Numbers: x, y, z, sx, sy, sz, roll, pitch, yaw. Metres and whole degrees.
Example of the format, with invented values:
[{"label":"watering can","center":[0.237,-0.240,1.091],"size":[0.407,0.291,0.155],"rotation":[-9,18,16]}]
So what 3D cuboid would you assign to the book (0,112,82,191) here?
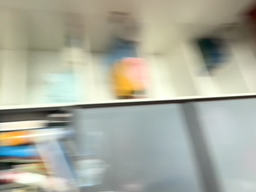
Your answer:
[{"label":"book","center":[-0.410,0.370,0.870],"size":[0.180,0.400,0.550],"rotation":[129,134,-57]}]
